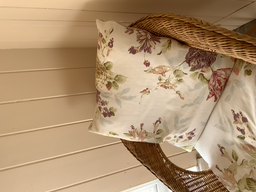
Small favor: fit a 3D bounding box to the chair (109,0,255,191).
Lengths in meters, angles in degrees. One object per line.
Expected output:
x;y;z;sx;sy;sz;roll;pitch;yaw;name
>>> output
0.410;0.020;0.830;0.590;0.760;0.620;49;140;48;chair
